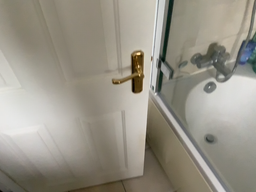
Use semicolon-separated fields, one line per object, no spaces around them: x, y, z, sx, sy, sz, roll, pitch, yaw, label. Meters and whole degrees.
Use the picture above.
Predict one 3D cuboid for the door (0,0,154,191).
-0.300;-0.050;0.620;0.730;1.900;0.060;-10;50;-7;door
